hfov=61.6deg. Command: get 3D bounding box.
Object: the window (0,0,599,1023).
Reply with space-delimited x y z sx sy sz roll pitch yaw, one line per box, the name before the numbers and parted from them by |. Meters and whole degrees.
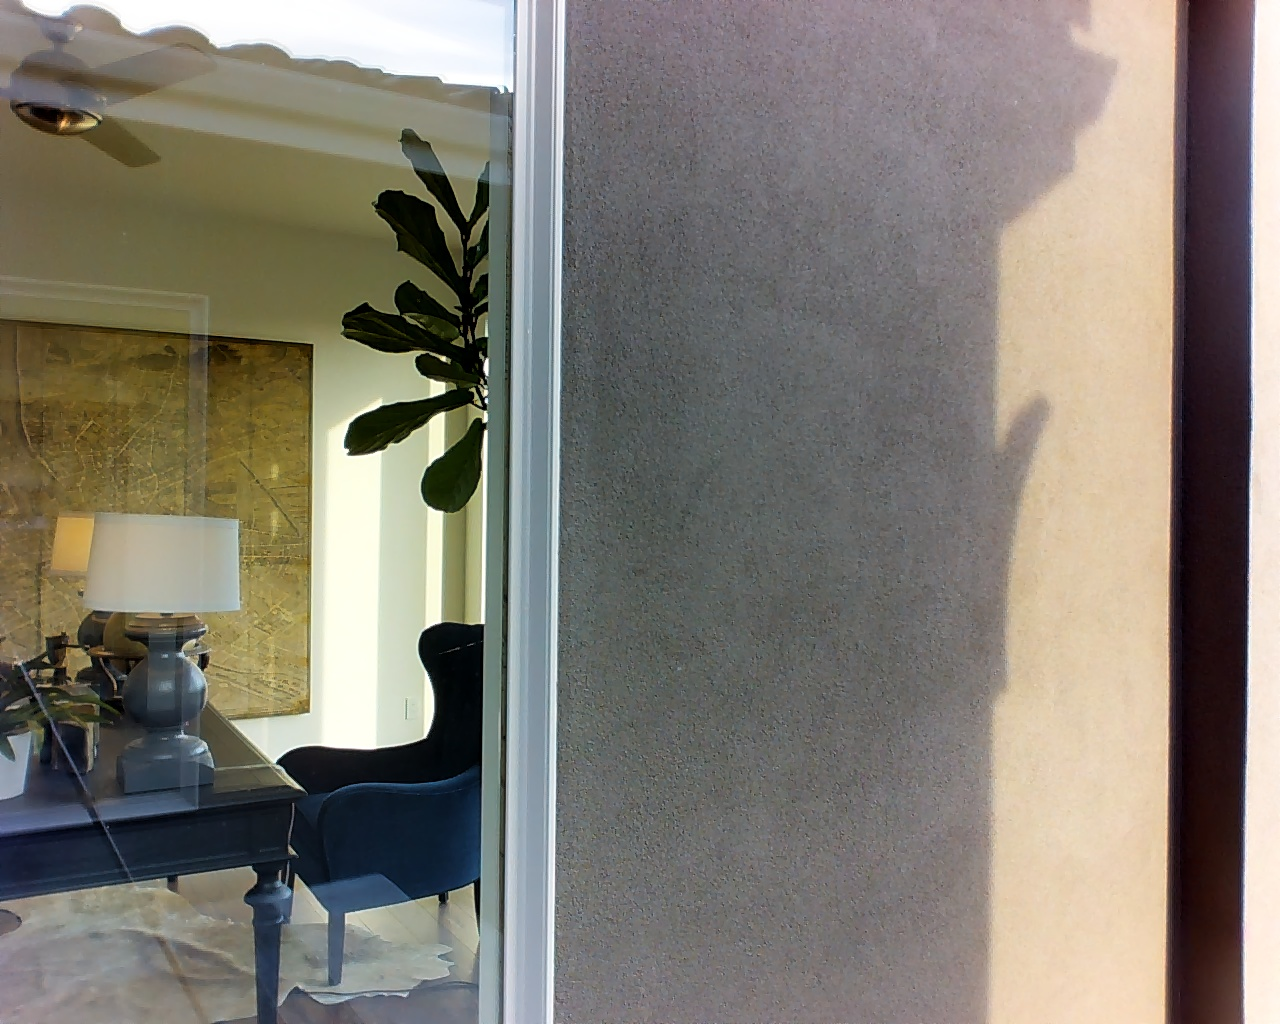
window | -0.660 0.160 1.410 1.250 2.050 0.200 1 0 -31
